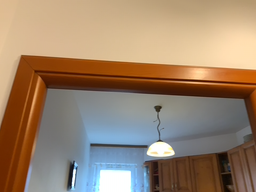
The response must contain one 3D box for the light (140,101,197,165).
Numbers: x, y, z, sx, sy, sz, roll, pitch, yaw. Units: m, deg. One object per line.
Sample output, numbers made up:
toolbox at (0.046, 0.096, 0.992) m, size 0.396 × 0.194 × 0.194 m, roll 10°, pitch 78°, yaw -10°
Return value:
light at (0.510, 0.460, 2.670) m, size 0.420 × 0.250 × 0.620 m, roll 31°, pitch -115°, yaw 8°
